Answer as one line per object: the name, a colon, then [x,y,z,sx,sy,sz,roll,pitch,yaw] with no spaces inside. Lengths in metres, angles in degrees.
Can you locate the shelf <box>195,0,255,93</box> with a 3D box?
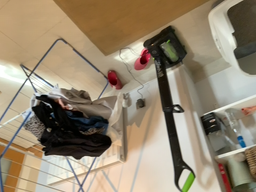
shelf: [0.810,-0.440,1.410,0.430,0.490,0.570,-27,135,25]
